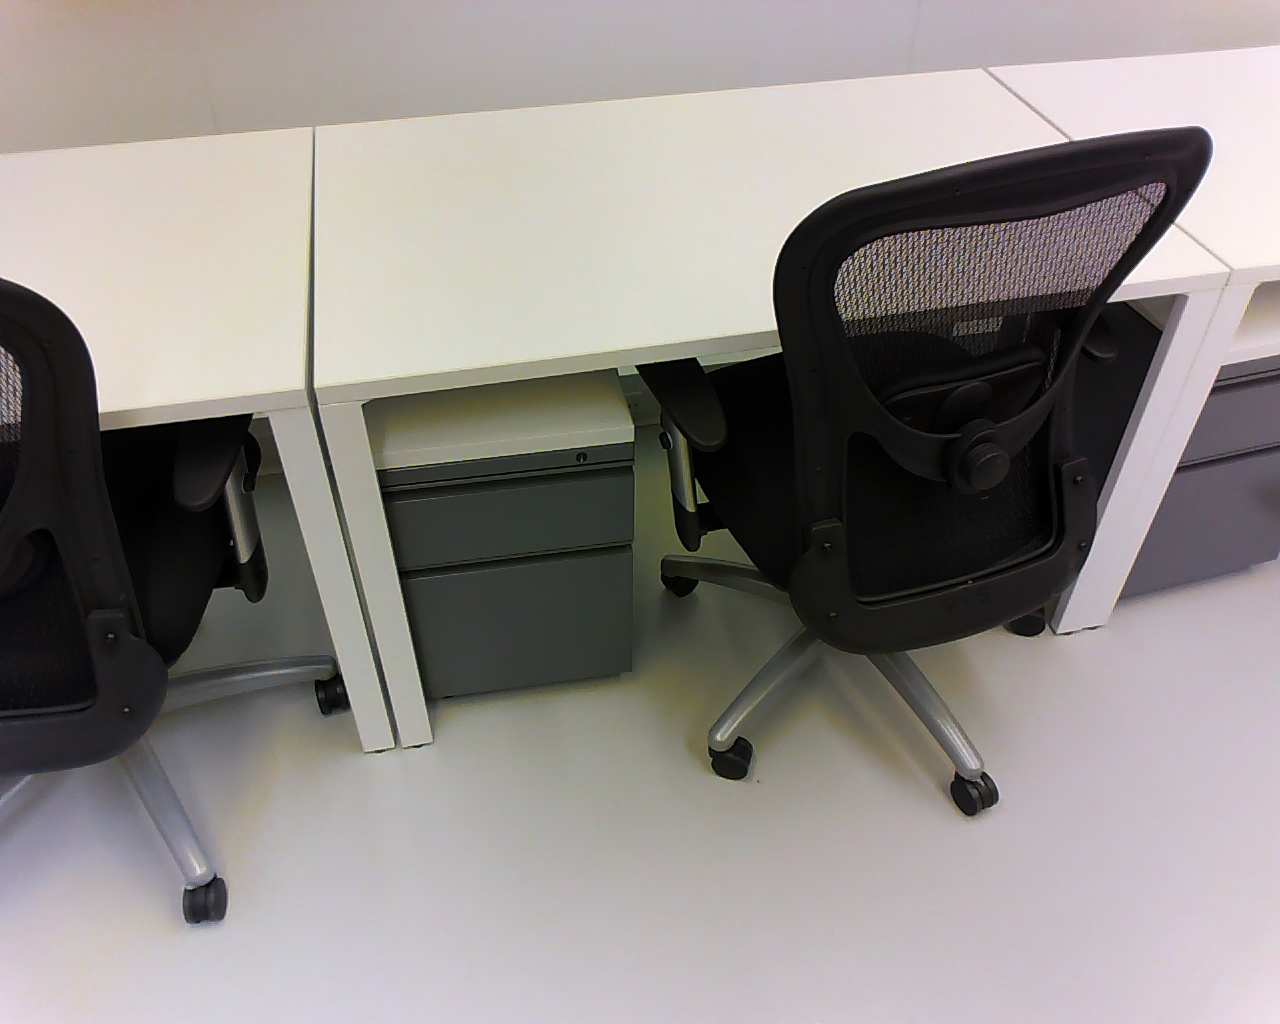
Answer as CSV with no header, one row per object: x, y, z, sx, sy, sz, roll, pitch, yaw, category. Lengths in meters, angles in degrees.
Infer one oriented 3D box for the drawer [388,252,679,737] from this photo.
-0.160,-0.010,1.710,0.360,0.680,0.330,-8,43,-9,drawer

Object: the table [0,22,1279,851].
0.700,-0.310,1.970,4.930,0.770,0.880,-8,43,-9,table

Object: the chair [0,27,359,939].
-0.800,0.020,1.400,0.660,1.040,0.540,-8,43,-9,chair

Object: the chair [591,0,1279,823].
0.340,-0.150,1.570,0.700,1.040,0.590,-8,43,-9,chair

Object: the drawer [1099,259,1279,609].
1.110,-0.130,1.830,0.440,0.620,0.140,-8,43,-9,drawer
